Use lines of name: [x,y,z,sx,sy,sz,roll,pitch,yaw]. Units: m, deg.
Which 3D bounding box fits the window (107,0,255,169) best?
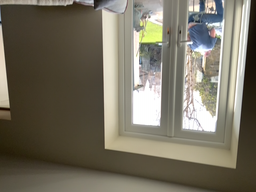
window: [0.470,-0.500,2.160,1.350,2.290,0.300,4,-170,17]
